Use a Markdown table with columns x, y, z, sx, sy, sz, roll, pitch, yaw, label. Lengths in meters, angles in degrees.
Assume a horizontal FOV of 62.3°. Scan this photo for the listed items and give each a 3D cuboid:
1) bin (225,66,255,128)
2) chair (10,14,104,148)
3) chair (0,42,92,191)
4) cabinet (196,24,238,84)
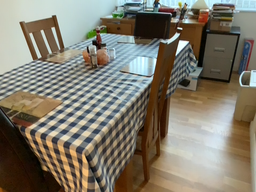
| x | y | z | sx | sy | sz | roll | pitch | yaw | label |
| --- | --- | --- | --- | --- | --- | --- | --- | --- | --- |
| 1.160 | 0.000 | 2.060 | 0.280 | 0.450 | 0.360 | 13 | 33 | 25 | bin |
| -0.540 | -0.120 | 1.800 | 0.490 | 1.010 | 0.340 | 14 | 33 | 26 | chair |
| -0.550 | 0.290 | 1.110 | 0.400 | 0.980 | 0.510 | 12 | 33 | 23 | chair |
| 1.230 | -0.600 | 2.930 | 0.390 | 0.650 | 0.500 | 12 | 33 | 23 | cabinet |
